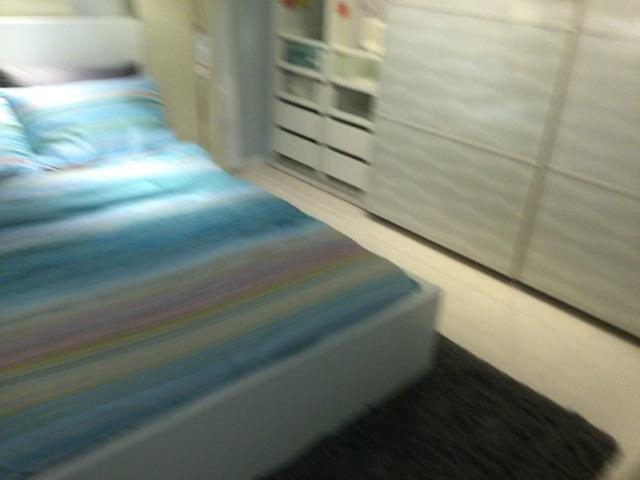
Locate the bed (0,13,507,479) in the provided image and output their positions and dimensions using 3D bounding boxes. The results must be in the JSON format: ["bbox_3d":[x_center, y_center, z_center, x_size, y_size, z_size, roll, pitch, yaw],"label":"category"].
[{"bbox_3d":[-0.870,-0.150,2.090,1.720,1.050,2.210,-17,32,-38],"label":"bed"}]
